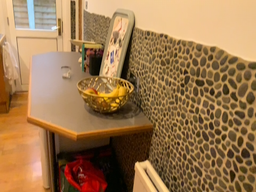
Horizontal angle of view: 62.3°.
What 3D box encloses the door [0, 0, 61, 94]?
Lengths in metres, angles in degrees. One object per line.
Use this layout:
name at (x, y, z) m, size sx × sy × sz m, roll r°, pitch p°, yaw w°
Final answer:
door at (-1.350, -1.080, 2.970) m, size 0.720 × 2.220 × 0.050 m, roll -6°, pitch 27°, yaw -25°
